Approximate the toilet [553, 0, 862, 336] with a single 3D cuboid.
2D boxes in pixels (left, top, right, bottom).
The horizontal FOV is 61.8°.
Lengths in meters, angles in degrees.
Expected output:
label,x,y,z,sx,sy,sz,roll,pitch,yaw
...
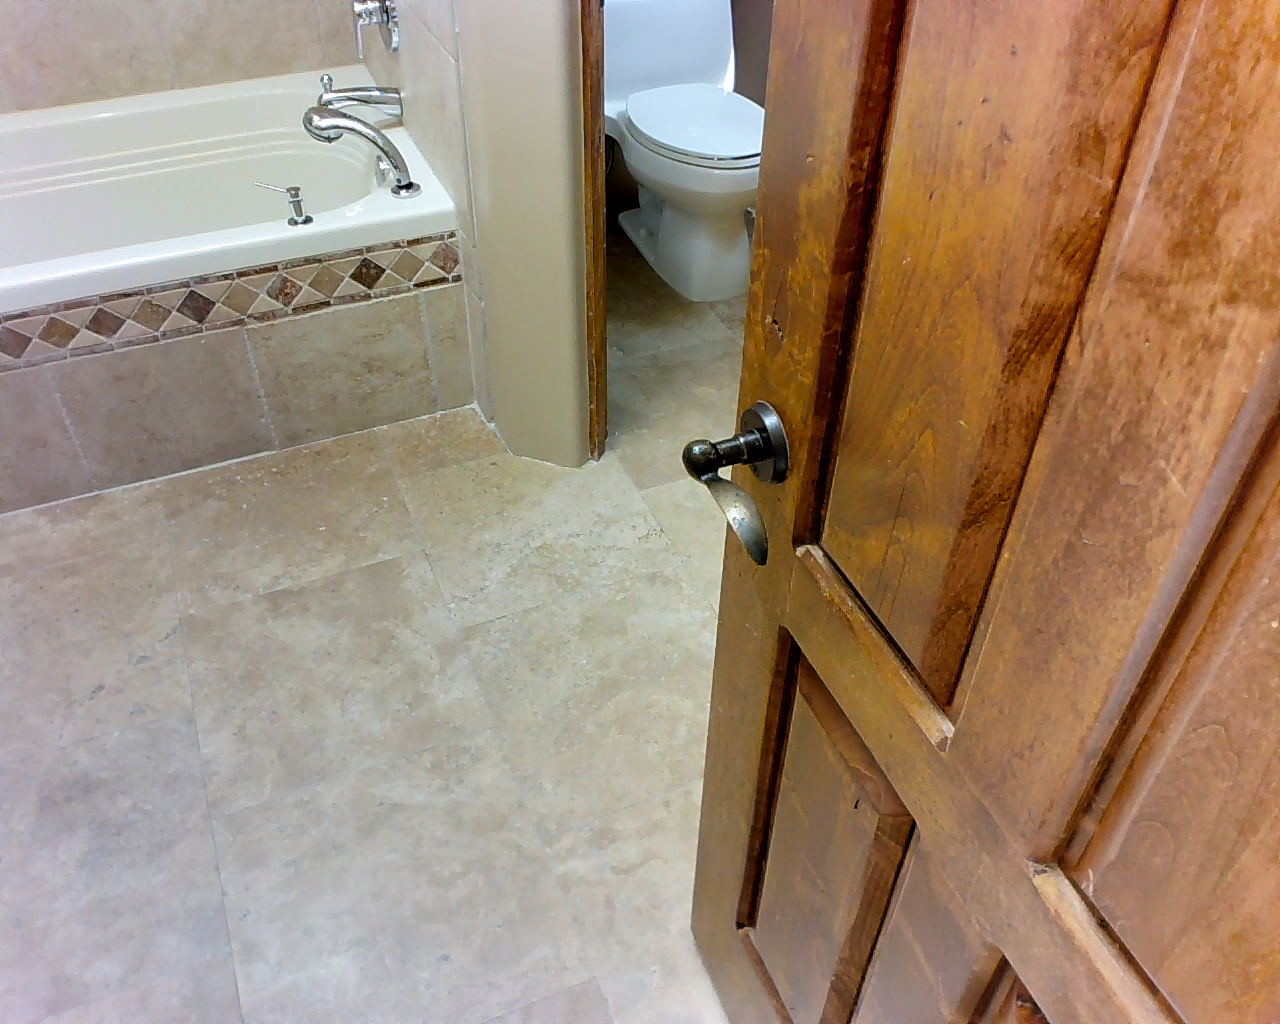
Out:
label,x,y,z,sx,sy,sz,roll,pitch,yaw
toilet,0.130,-0.970,2.780,0.470,0.660,0.730,-15,44,-18
